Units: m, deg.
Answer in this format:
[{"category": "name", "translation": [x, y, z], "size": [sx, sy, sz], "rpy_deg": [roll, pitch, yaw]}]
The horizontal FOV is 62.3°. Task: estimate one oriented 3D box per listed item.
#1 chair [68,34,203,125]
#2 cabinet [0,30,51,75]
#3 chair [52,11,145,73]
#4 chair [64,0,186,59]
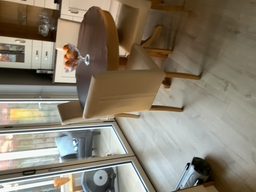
[{"category": "chair", "translation": [0.040, -0.140, 1.910], "size": [0.550, 0.980, 0.490], "rpy_deg": [62, 141, 41]}, {"category": "cabinet", "translation": [-1.930, -0.700, 3.420], "size": [0.260, 1.230, 0.620], "rpy_deg": [52, 134, 49]}, {"category": "chair", "translation": [-0.400, -0.670, 2.720], "size": [0.540, 1.000, 0.510], "rpy_deg": [53, 135, 48]}, {"category": "chair", "translation": [-0.060, -0.770, 2.100], "size": [0.520, 0.980, 0.550], "rpy_deg": [57, 138, 46]}]
